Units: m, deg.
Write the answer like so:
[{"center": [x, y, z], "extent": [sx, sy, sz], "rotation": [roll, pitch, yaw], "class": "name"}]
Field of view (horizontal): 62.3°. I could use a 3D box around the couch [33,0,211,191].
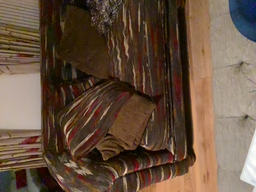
[{"center": [-0.210, -0.590, 1.640], "extent": [1.180, 0.780, 2.580], "rotation": [-9, 83, 57], "class": "couch"}]
